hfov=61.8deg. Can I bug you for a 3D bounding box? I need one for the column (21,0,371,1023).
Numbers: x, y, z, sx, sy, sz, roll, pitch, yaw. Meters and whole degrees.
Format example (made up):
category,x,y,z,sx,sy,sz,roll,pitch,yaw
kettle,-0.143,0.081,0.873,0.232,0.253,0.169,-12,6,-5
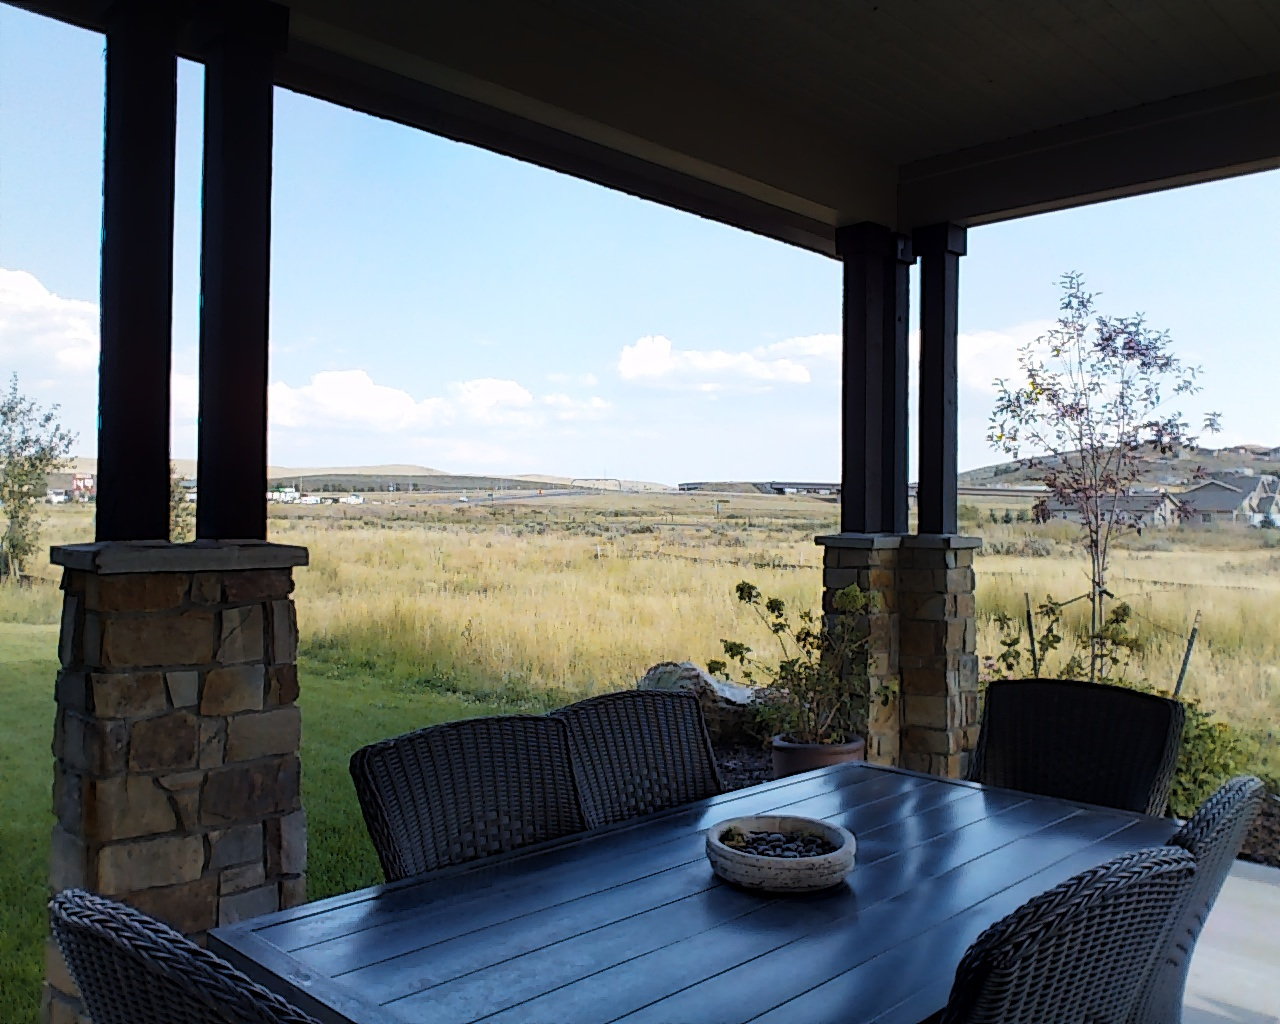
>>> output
category,x,y,z,sx,sy,sz,roll,pitch,yaw
column,-1.230,-0.040,3.020,0.390,2.920,0.760,1,-1,44
